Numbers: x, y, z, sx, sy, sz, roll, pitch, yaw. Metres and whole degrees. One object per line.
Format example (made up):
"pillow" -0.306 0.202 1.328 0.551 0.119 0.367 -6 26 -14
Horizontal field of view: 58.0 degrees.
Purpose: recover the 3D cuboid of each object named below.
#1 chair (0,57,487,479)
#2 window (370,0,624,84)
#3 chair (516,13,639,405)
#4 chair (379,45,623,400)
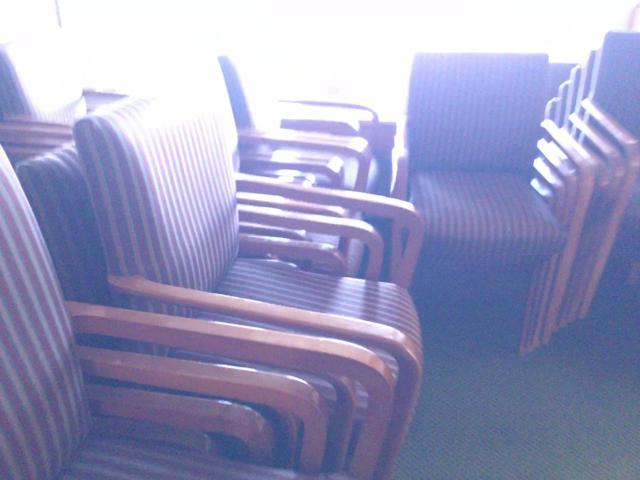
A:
"chair" -0.100 0.250 1.190 0.650 1.130 0.710 2 23 6
"window" 0.870 -1.160 3.020 1.190 0.610 0.410 2 23 6
"chair" 1.230 -0.180 2.080 0.700 1.160 0.960 2 23 6
"chair" 0.520 -0.090 1.990 0.590 1.060 0.600 2 23 6
